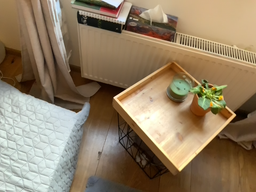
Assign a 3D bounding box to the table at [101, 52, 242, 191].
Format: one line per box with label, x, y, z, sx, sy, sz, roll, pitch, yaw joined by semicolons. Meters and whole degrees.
table;0.190;0.150;1.170;0.490;0.460;0.430;-32;68;-27
